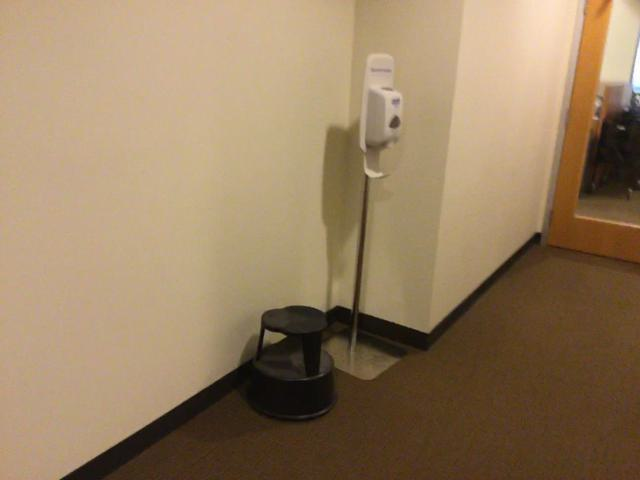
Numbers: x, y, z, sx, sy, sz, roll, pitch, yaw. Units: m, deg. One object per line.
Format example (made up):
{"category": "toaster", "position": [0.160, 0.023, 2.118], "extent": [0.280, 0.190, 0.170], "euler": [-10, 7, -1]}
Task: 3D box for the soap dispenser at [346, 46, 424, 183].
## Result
{"category": "soap dispenser", "position": [0.280, -0.540, 2.480], "extent": [0.170, 0.530, 0.320], "euler": [12, 18, 30]}
